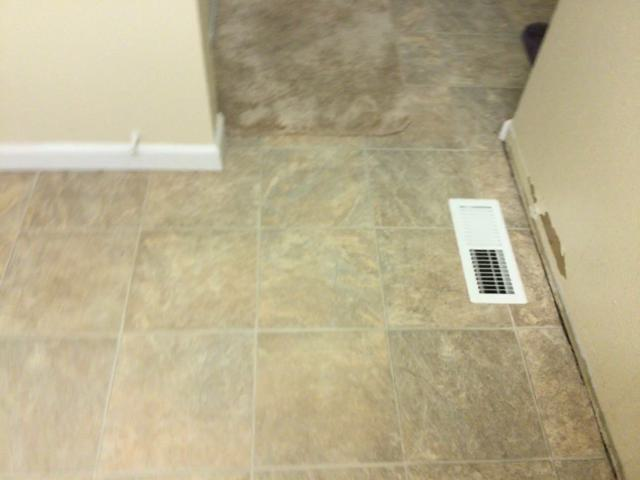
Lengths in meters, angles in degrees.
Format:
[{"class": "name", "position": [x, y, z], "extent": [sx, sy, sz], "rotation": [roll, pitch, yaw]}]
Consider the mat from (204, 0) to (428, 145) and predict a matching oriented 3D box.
[{"class": "mat", "position": [-0.020, -0.690, 2.020], "extent": [0.660, 0.050, 0.970], "rotation": [0, 52, -3]}]
